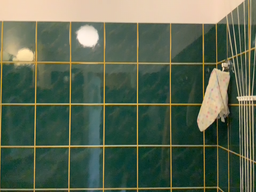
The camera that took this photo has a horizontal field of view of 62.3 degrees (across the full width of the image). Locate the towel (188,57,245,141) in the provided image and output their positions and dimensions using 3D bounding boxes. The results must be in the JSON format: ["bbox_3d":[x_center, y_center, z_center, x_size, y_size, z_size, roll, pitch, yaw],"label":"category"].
[{"bbox_3d":[0.490,0.020,1.210,0.210,0.430,0.230,1,-2,-9],"label":"towel"}]
